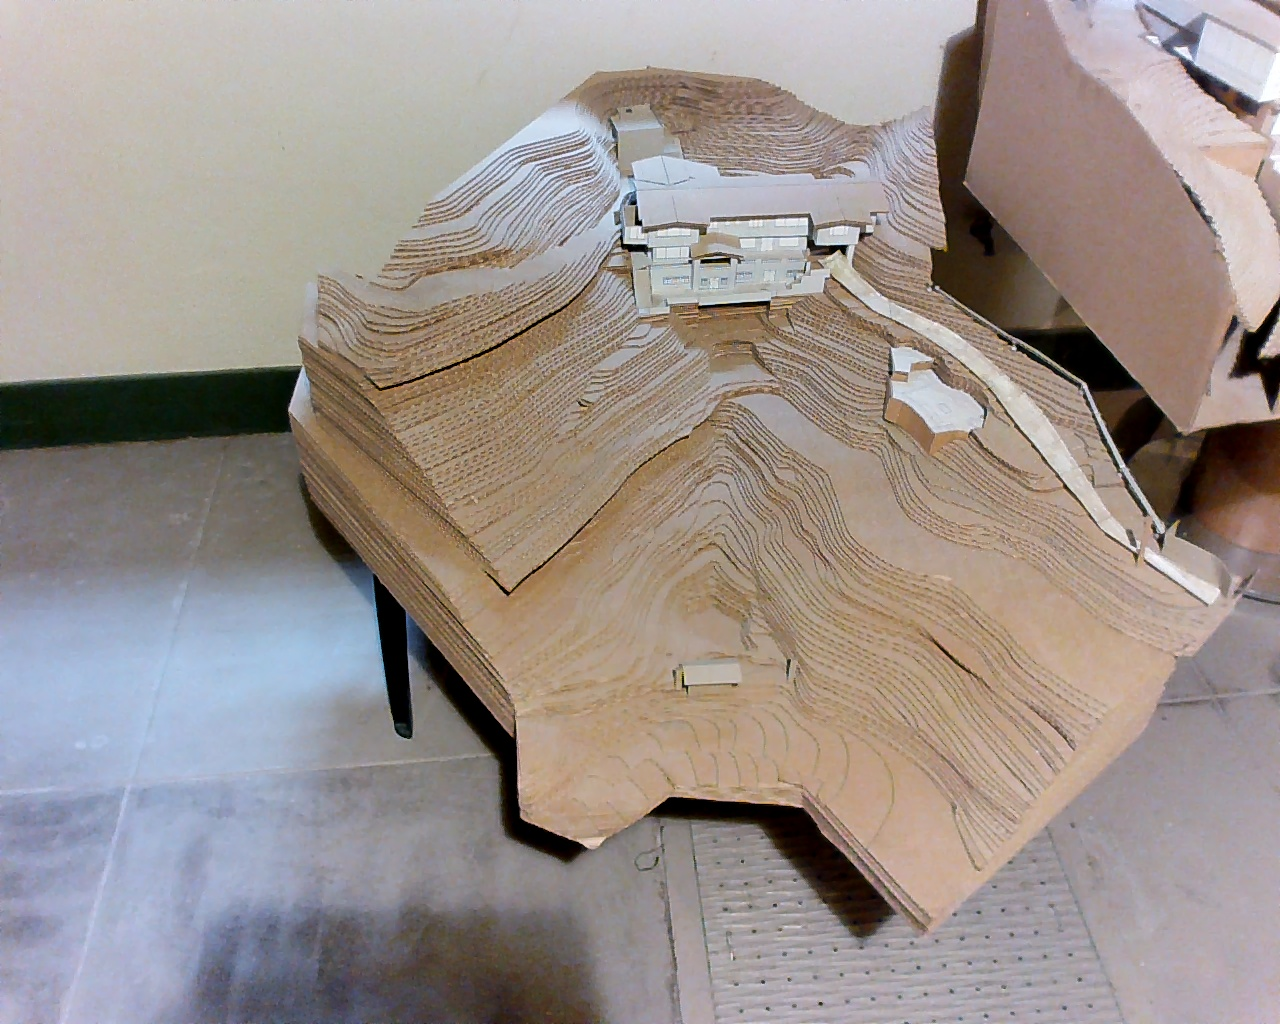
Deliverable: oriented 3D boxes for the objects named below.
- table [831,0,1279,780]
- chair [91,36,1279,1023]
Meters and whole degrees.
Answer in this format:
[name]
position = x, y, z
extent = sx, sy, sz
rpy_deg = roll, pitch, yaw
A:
[table]
position = 1.230, -0.430, 1.920
extent = 1.380, 1.160, 1.200
rpy_deg = -4, 42, -5
[chair]
position = 0.110, -0.070, 1.820
extent = 1.310, 0.850, 1.600
rpy_deg = -4, 42, -5
